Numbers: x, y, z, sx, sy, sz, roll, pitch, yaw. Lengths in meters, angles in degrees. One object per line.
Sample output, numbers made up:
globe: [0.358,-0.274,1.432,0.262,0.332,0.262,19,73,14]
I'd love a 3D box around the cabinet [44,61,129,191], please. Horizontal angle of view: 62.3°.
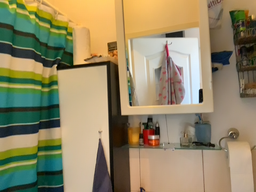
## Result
cabinet: [-0.210,0.690,1.170,0.380,1.700,0.270,-3,-4,17]

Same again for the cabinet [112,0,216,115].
cabinet: [0.180,-0.350,1.140,0.480,0.880,0.220,-3,-4,17]
